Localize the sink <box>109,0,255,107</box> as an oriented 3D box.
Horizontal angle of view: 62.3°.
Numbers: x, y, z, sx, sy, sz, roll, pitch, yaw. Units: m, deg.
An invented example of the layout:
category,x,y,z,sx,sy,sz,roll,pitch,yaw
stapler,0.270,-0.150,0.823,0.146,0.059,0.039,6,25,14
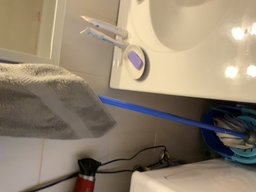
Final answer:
category,x,y,z,sx,sy,sz,roll,pitch,yaw
sink,0.220,-0.380,0.640,0.490,0.200,0.780,6,88,49
